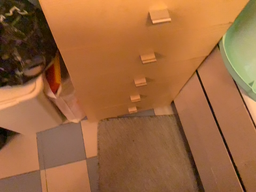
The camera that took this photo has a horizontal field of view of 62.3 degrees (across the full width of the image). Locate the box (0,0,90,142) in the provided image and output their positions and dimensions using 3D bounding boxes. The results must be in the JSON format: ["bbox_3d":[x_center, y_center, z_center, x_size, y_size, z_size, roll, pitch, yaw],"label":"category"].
[{"bbox_3d":[-0.400,-0.080,0.890,0.360,0.540,0.380,-12,70,-9],"label":"box"}]
